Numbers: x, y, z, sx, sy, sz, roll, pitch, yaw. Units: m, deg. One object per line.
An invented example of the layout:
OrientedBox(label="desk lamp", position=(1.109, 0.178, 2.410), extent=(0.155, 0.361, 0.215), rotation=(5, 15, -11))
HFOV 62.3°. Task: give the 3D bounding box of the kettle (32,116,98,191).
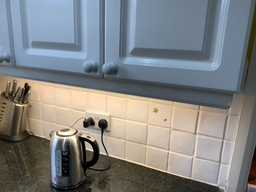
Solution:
OrientedBox(label="kettle", position=(-0.260, 0.240, 0.910), extent=(0.200, 0.230, 0.170), rotation=(8, 17, 19))
